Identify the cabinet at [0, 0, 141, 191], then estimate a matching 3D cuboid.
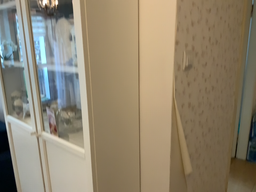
[{"bbox_3d":[-0.360,0.170,1.160,0.830,2.000,0.310,11,18,38],"label":"cabinet"}]
